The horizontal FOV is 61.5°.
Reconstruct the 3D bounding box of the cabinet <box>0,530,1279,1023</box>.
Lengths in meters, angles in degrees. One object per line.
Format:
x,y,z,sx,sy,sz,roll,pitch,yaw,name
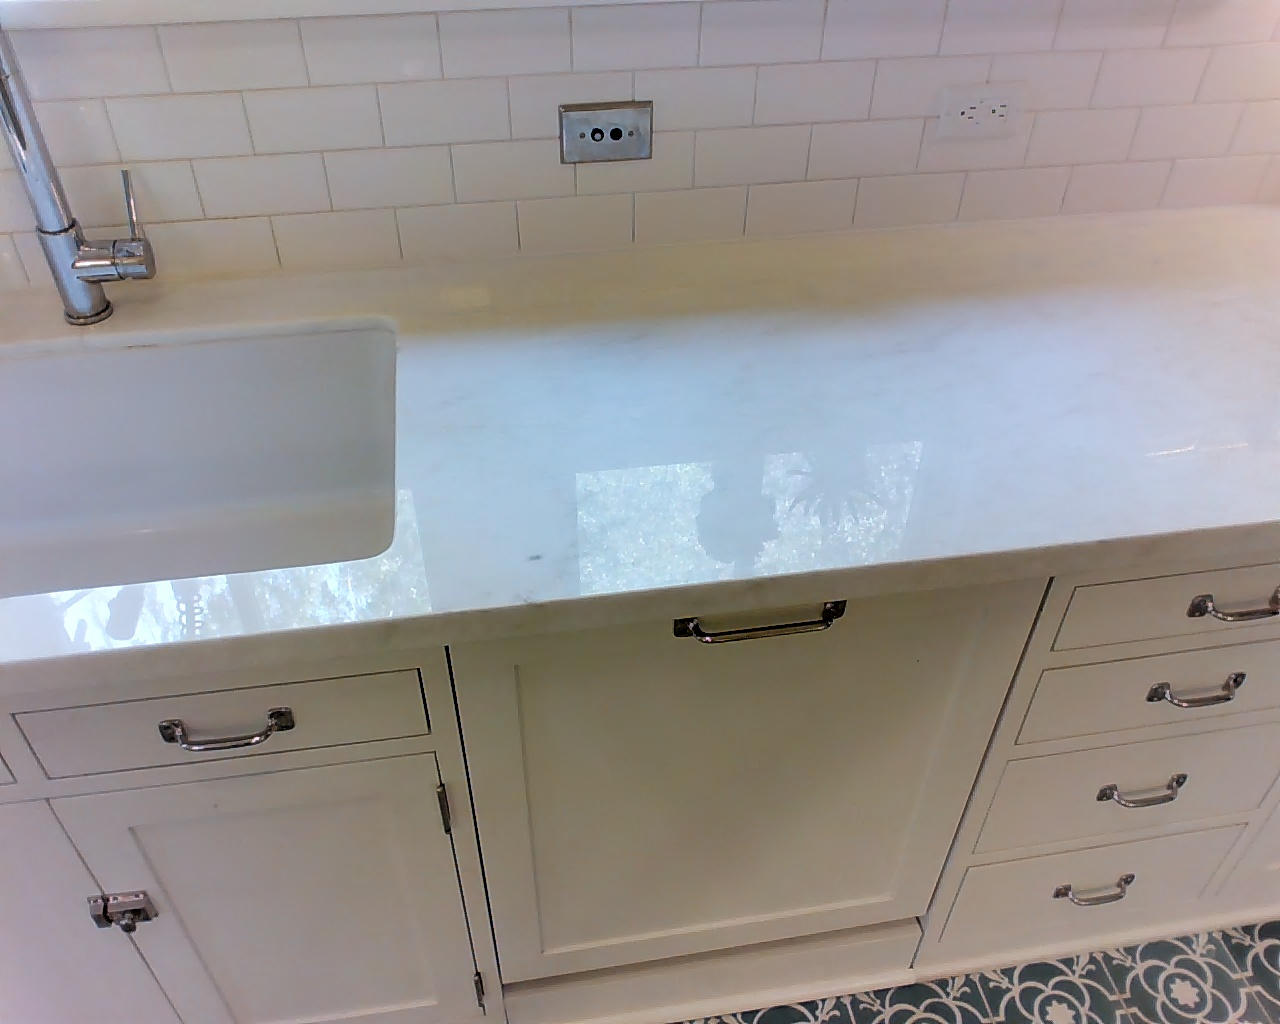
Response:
-1.130,0.530,1.160,5.929,0.820,0.070,-6,42,-7,cabinet
